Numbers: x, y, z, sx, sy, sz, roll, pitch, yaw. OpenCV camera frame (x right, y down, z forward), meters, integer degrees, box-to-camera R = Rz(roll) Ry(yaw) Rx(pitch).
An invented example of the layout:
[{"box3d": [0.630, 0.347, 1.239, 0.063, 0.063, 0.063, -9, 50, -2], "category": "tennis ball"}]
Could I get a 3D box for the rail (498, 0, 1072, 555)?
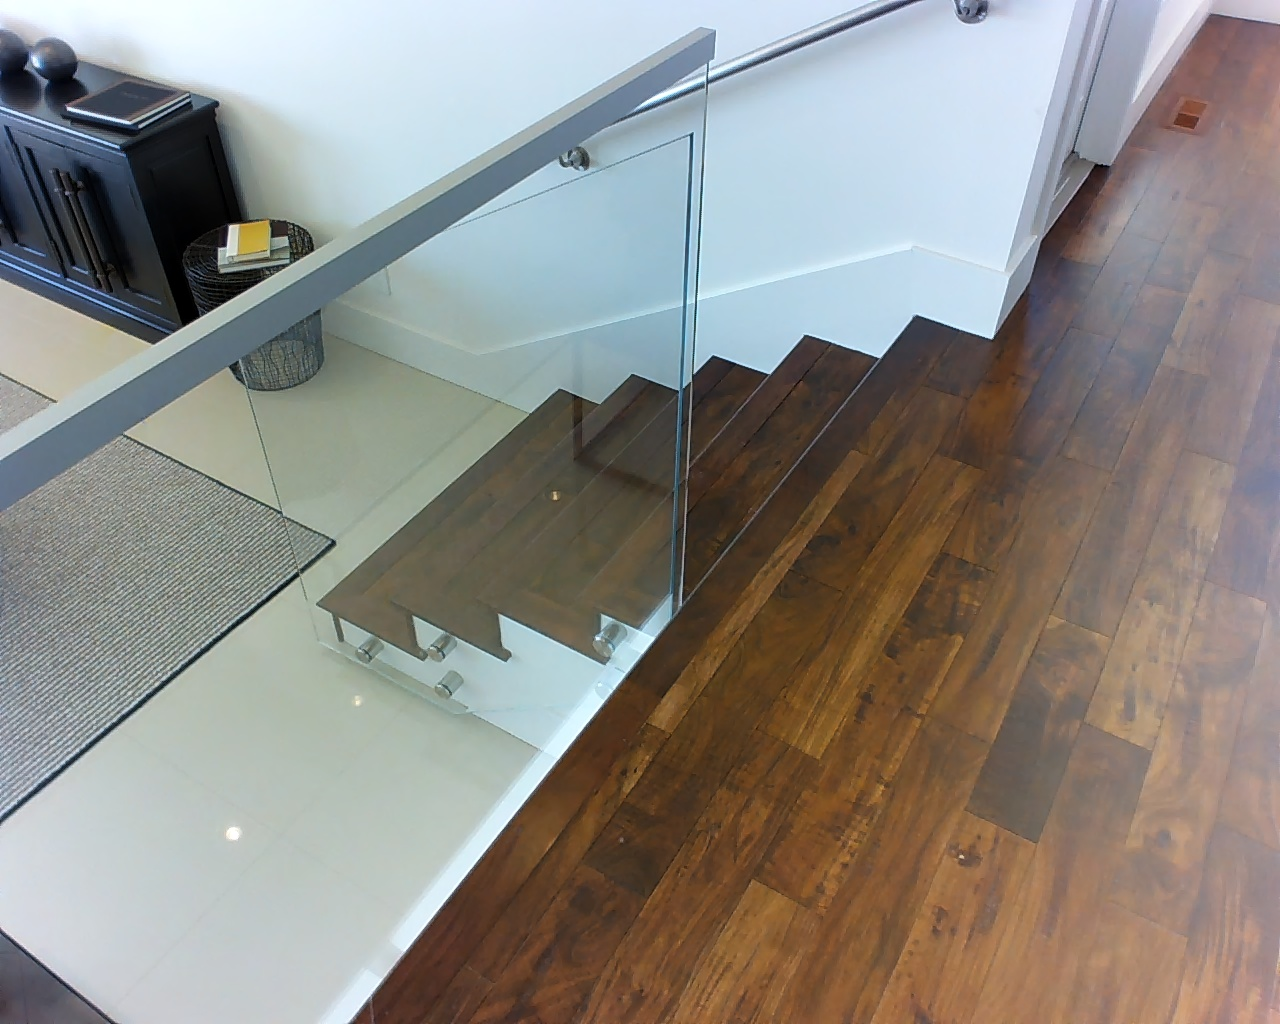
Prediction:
[{"box3d": [0.270, -0.740, 3.070, 1.460, 1.540, 0.140, 23, 47, 23], "category": "rail"}]
